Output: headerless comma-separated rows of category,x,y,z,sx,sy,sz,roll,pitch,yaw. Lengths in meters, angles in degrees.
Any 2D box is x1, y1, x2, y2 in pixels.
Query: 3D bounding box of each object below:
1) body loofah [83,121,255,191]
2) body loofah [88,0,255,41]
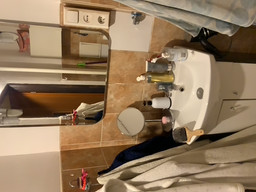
body loofah,0.430,0.360,1.120,0.340,1.260,0.280,-124,39,-58
body loofah,0.310,-0.460,1.020,0.260,0.950,0.290,-130,44,-61
